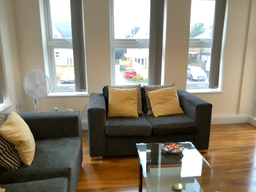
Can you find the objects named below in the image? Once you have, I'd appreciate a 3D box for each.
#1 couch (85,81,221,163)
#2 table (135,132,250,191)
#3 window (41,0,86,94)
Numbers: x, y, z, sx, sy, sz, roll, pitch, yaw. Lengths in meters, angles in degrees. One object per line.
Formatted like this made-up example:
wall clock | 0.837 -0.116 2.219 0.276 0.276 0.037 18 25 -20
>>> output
couch | 0.260 0.270 2.980 1.570 0.790 1.010 -1 13 -5
table | 0.420 0.720 1.820 0.600 0.450 0.970 -1 13 -6
window | -1.030 -0.870 3.460 0.590 1.630 0.220 -3 13 -10
